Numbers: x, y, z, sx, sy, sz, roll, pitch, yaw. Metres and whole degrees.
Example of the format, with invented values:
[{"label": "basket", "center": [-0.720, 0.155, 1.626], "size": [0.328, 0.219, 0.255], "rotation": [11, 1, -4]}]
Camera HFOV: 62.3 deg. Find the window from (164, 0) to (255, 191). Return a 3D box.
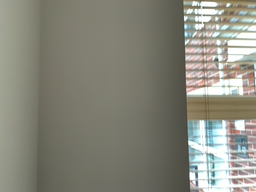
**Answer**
[{"label": "window", "center": [0.740, 0.060, 1.020], "size": [1.090, 1.370, 0.080], "rotation": [-1, -6, -4]}]
